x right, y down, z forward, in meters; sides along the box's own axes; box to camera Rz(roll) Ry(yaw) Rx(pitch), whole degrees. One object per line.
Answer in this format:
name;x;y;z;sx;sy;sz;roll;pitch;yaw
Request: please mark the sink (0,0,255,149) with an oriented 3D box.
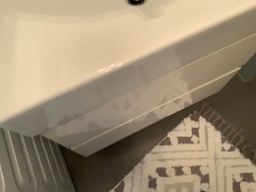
sink;0.030;-0.260;0.510;0.760;0.190;0.440;-25;70;-9
